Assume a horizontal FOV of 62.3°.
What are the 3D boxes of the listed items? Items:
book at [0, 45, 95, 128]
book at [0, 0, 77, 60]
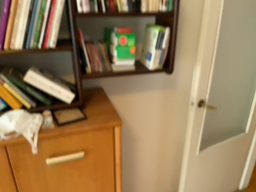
[{"bbox_3d":[-0.500,-0.050,0.950,0.650,0.280,0.250,-6,25,-15],"label":"book"},{"bbox_3d":[-0.520,-0.280,0.820,0.600,0.230,0.250,-5,25,-14],"label":"book"}]
